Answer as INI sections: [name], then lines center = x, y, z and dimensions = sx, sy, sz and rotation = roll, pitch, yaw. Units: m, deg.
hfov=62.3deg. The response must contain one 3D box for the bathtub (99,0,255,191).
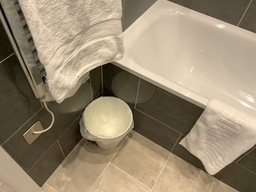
[bathtub]
center = 0.730, 0.120, 1.250
dimensions = 1.680, 0.590, 0.680
rotation = 27, 55, 14
